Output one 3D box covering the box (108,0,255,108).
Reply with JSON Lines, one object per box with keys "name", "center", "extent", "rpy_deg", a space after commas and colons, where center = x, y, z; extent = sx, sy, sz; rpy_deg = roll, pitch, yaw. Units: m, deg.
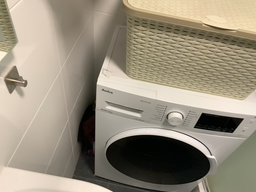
{"name": "box", "center": [0.260, -0.250, 0.770], "extent": [0.560, 0.250, 0.440], "rpy_deg": [12, 49, 1]}
